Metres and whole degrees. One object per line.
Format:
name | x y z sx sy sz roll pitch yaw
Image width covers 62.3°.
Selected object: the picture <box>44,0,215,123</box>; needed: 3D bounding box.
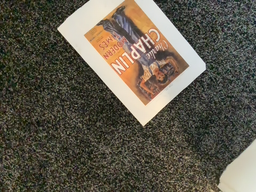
picture | 0.010 -0.130 0.490 0.270 0.040 0.270 -43 95 -4
